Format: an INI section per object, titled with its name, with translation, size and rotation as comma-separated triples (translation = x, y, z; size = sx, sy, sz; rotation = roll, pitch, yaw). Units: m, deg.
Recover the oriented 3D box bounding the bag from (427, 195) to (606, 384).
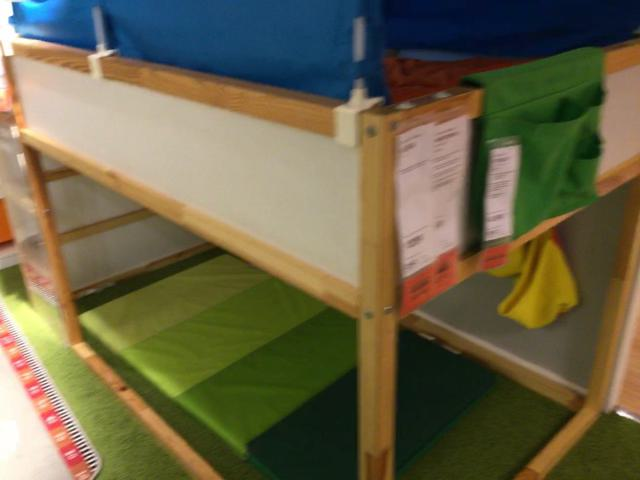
[bag]
translation = 0.590, 0.140, 1.810
size = 0.430, 0.420, 0.190
rotation = 25, 37, 38
